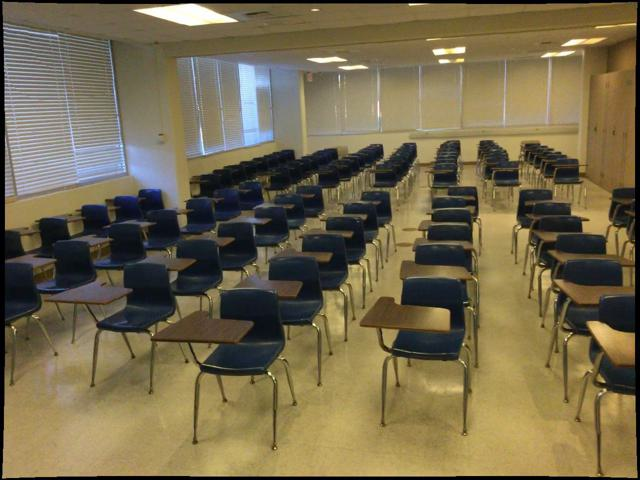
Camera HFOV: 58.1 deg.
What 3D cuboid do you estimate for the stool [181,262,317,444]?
[{"bbox_3d":[-0.379,0.632,3.540,0.489,0.762,0.940,-1,13,12],"label":"stool"}]

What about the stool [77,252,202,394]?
[{"bbox_3d":[-1.237,0.551,4.060,0.479,0.802,0.630,0,13,17],"label":"stool"}]

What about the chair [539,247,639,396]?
[{"bbox_3d":[1.706,0.471,3.600,0.519,0.702,0.720,-1,13,13],"label":"chair"}]

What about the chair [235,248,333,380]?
[{"bbox_3d":[-0.219,0.481,4.010,0.449,0.682,0.740,-1,13,13],"label":"chair"}]

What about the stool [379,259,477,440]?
[{"bbox_3d":[0.688,0.612,3.510,0.509,0.812,0.790,0,13,15],"label":"stool"}]
